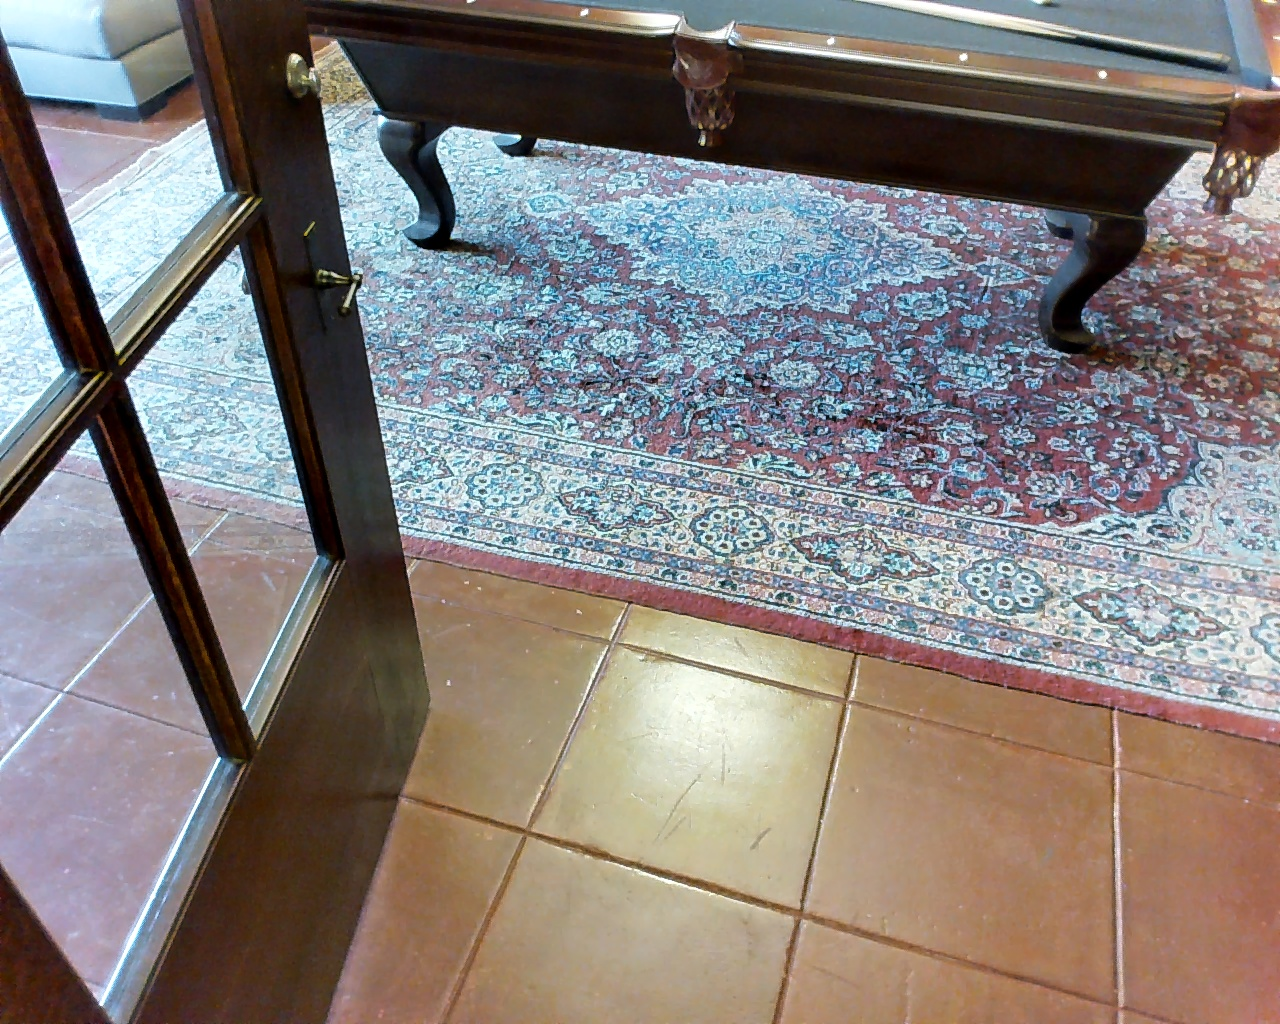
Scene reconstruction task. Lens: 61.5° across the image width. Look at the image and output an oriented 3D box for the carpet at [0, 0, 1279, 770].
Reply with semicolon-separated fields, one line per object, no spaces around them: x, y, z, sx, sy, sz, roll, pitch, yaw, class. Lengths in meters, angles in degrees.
0.380;-0.860;3.300;4.370;0.050;3.300;11;43;12;carpet
